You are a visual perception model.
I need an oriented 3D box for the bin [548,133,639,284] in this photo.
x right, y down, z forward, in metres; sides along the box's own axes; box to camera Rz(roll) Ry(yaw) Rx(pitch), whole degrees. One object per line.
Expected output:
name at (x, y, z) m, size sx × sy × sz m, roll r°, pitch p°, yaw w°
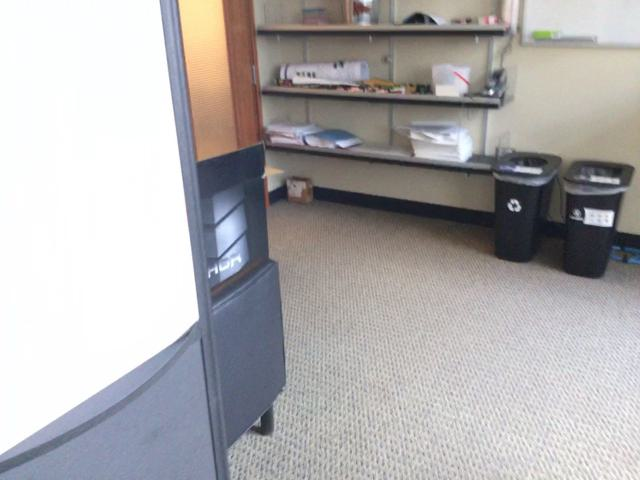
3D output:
bin at (1.350, -0.170, 2.790) m, size 0.270 × 0.570 × 0.490 m, roll 15°, pitch 28°, yaw 34°

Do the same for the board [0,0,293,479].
board at (-0.350, 0.080, 1.000) m, size 0.150 × 1.520 × 0.690 m, roll 15°, pitch 28°, yaw 34°

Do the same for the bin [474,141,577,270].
bin at (1.080, -0.200, 3.040) m, size 0.320 × 0.510 × 0.500 m, roll 15°, pitch 28°, yaw 34°
